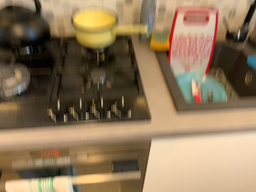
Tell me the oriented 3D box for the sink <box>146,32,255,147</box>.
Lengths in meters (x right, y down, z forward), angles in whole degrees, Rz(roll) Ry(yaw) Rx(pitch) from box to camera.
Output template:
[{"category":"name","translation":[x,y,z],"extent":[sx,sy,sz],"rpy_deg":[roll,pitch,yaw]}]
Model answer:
[{"category":"sink","translation":[0.320,-0.060,0.880],"extent":[0.400,0.190,0.480],"rpy_deg":[-2,44,-6]}]

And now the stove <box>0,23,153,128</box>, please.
[{"category":"stove","translation":[-0.260,-0.120,0.750],"extent":[0.600,0.030,0.550],"rpy_deg":[-2,44,-6]}]

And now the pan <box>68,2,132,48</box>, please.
[{"category":"pan","translation":[-0.110,-0.290,0.850],"extent":[0.220,0.100,0.200],"rpy_deg":[-3,44,-6]}]
